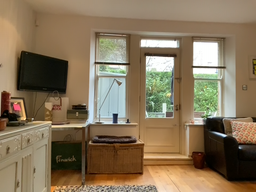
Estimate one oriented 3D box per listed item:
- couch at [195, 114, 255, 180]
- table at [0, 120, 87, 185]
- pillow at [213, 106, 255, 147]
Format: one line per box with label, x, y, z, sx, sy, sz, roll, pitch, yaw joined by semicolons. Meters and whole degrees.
couch;2.000;0.720;3.330;1.560;0.830;0.970;1;-2;-3
table;-1.140;0.760;3.130;0.940;0.720;0.940;1;-2;-5
pillow;1.800;0.480;3.270;0.650;0.300;0.660;-1;-41;-6
